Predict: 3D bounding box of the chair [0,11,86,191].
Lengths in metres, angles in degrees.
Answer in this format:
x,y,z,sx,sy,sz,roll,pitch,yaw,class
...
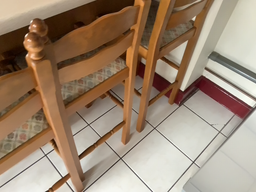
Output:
x,y,z,sx,sy,sz,roll,pitch,yaw,class
-0.460,0.200,0.760,0.400,0.860,0.390,-34,61,-29,chair

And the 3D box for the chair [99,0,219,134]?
x,y,z,sx,sy,sz,roll,pitch,yaw,class
0.110,-0.240,1.190,0.380,0.870,0.380,-34,61,-29,chair
